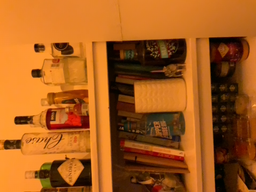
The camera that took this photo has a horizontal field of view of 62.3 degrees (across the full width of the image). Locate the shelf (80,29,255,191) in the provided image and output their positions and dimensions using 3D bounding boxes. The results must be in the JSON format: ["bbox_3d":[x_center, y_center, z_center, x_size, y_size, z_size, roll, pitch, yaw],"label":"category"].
[{"bbox_3d":[0.760,0.100,0.880,0.430,1.790,0.660,-133,40,-88],"label":"shelf"}]
